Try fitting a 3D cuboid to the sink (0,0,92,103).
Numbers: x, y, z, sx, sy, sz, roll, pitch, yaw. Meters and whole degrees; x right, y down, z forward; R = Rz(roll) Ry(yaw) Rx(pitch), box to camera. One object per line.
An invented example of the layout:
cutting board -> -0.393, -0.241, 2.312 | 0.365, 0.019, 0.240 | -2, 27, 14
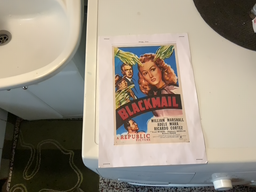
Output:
sink -> -0.390, -0.200, 0.600 | 0.550, 0.140, 0.420 | -2, 73, -2
